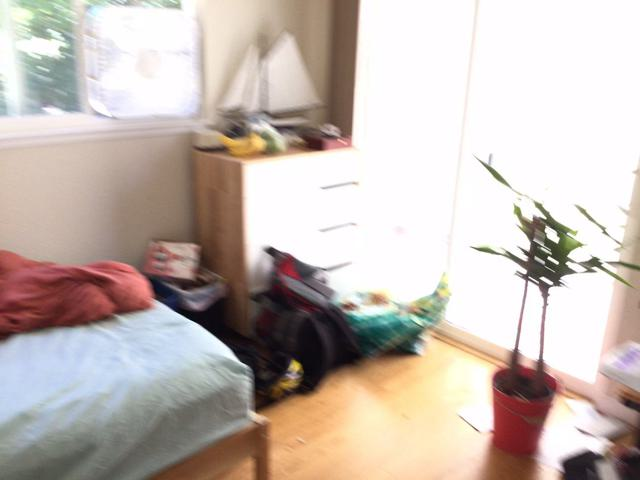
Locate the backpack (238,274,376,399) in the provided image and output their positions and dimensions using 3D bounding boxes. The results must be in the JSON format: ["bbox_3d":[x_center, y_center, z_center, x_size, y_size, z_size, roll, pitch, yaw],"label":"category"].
[{"bbox_3d":[-0.060,0.450,2.880,0.490,0.360,0.470,-16,22,-42],"label":"backpack"}]

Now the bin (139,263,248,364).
[{"bbox_3d":[-0.670,0.370,3.070,0.360,0.340,0.430,-16,22,-42],"label":"bin"}]

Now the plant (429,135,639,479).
[{"bbox_3d":[0.790,0.230,2.210,0.460,1.180,0.530,-16,22,-42],"label":"plant"}]
